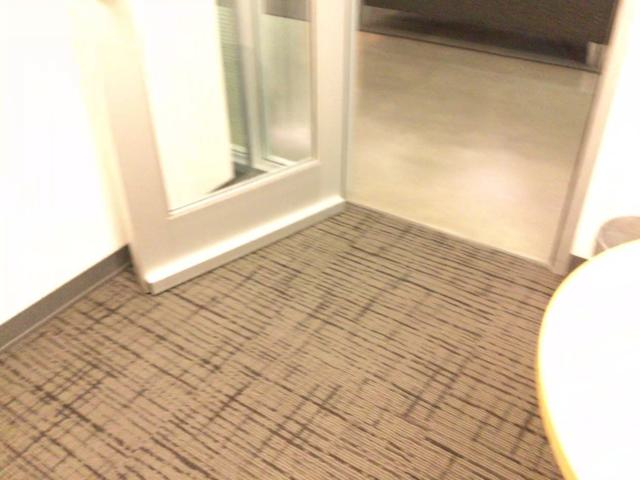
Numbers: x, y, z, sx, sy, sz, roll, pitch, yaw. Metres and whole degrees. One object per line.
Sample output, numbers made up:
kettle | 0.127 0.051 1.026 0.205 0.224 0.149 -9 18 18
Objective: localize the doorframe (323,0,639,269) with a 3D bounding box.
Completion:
doorframe | 0.470 -0.890 1.780 0.980 1.980 0.170 18 39 26
